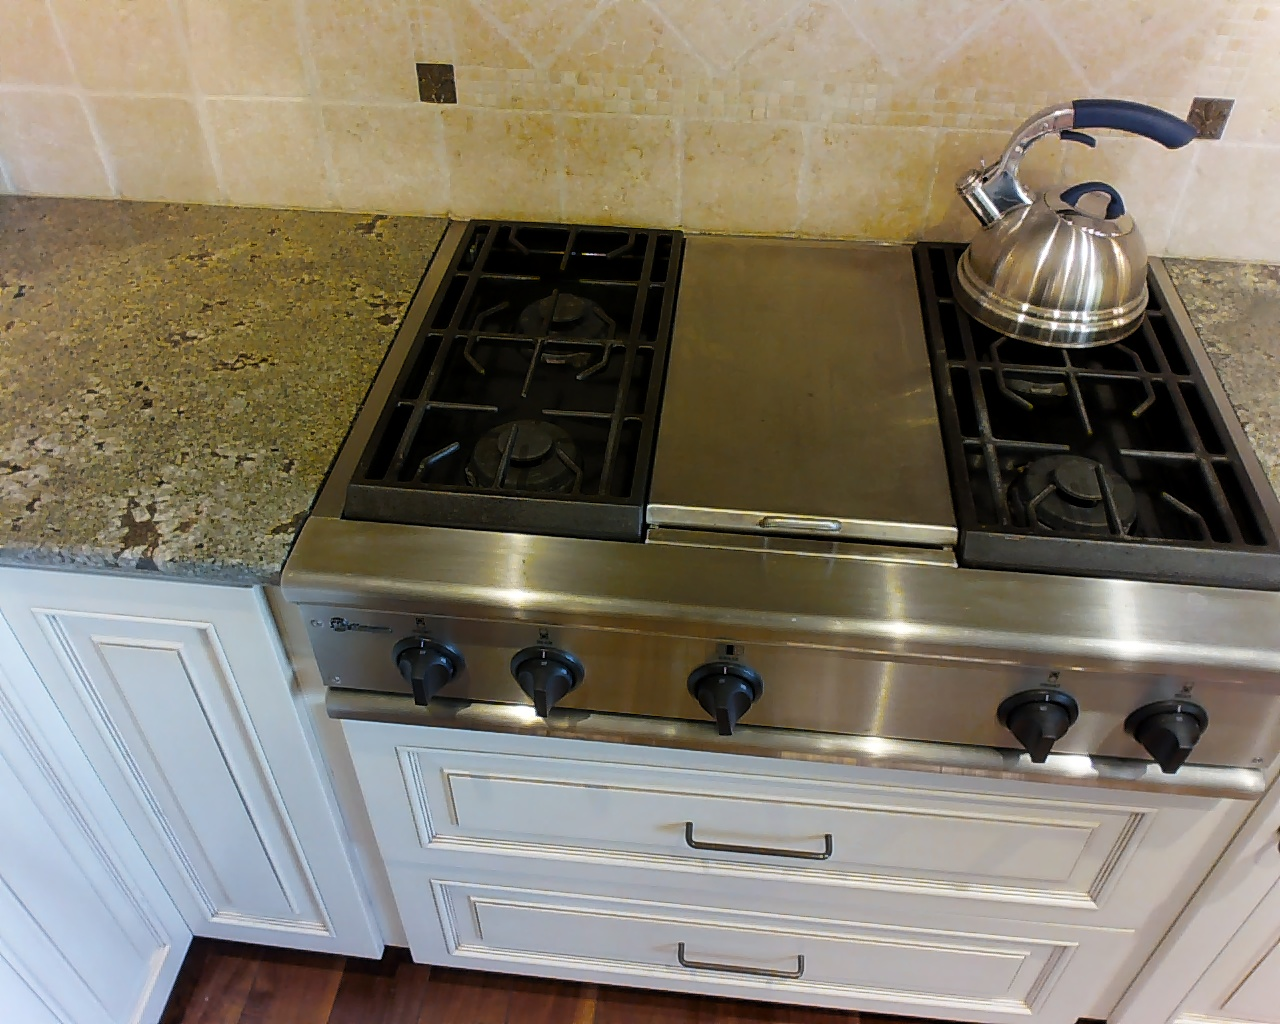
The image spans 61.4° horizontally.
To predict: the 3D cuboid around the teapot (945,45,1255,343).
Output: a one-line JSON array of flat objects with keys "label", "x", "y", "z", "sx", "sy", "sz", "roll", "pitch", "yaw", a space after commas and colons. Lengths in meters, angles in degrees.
[{"label": "teapot", "x": 0.480, "y": -0.350, "z": 1.180, "sx": 0.220, "sy": 0.230, "sz": 0.220, "roll": 4, "pitch": 43, "yaw": 4}]
